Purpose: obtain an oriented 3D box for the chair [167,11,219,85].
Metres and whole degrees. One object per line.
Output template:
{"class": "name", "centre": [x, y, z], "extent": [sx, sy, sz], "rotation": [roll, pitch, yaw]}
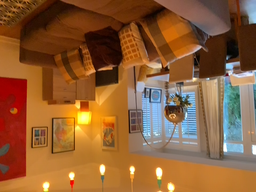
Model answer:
{"class": "chair", "centre": [1.040, -0.710, 3.420], "extent": [0.580, 0.980, 0.540], "rotation": [2, 174, -44]}
